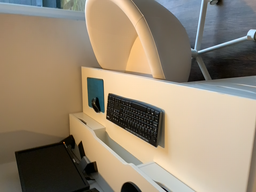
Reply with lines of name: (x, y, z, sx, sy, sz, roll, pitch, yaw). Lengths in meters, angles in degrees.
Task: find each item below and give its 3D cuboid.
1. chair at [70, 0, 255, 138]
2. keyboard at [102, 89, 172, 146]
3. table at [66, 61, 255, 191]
chair: (0.180, -0.280, 1.240, 0.710, 0.810, 0.680, 21, 113, 56)
keyboard: (0.010, 0.070, 0.950, 0.460, 0.060, 0.130, 20, 113, 56)
table: (0.250, 0.150, 1.200, 1.230, 0.820, 0.610, 20, 113, 56)
